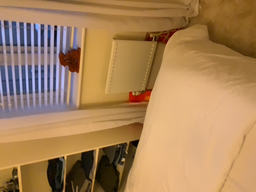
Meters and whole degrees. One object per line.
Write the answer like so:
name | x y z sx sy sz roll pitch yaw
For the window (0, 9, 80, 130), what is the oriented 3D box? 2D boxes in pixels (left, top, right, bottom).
window | -0.930 -0.140 1.570 0.060 1.080 0.950 48 134 45

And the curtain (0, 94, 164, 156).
curtain | -0.660 0.250 1.770 0.190 2.250 0.280 47 133 45

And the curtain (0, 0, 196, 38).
curtain | -0.440 -0.610 1.320 0.200 2.140 0.340 46 132 46

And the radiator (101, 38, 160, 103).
radiator | 0.020 -0.230 1.940 0.100 0.470 0.550 41 129 49
